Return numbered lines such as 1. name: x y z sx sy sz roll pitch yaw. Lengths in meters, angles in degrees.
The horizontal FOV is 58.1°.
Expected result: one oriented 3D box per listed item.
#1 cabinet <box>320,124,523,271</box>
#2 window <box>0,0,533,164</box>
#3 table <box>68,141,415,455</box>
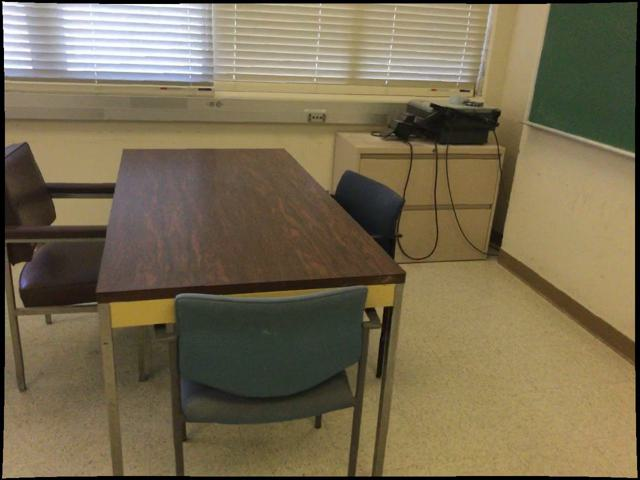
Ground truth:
1. cabinet: 0.588 -0.291 3.590 1.028 0.742 0.550 -2 23 -15
2. window: -1.356 -1.133 2.970 5.317 1.433 0.300 -2 23 -15
3. table: -0.369 0.020 2.150 0.828 0.401 1.580 -2 24 -15
